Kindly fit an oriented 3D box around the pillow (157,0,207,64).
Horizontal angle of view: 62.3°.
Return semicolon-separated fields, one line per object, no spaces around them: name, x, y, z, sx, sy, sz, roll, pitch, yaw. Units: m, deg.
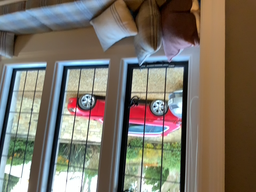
pillow;0.350;-0.460;1.470;0.220;0.320;0.470;4;170;0

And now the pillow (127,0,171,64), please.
pillow;0.140;-0.460;1.550;0.190;0.330;0.360;7;170;-14

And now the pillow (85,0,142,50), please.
pillow;-0.120;-0.540;1.630;0.250;0.200;0.400;11;168;-35
